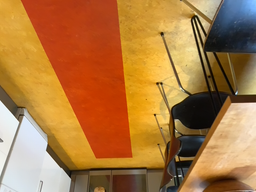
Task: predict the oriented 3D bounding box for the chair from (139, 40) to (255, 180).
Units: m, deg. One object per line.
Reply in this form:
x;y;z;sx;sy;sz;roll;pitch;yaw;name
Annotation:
0.350;0.080;1.370;0.510;0.760;0.440;-3;143;2;chair
